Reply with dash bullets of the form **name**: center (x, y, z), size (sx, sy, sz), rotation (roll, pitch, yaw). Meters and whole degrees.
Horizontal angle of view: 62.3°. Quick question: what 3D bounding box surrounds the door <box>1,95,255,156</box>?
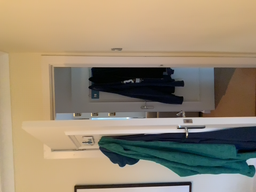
- **door**: center (0.330, 0.270, 1.650), size (0.920, 2.070, 0.180), rotation (102, 167, -65)

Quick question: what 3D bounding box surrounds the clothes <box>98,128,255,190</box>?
- **clothes**: center (0.450, 0.510, 1.640), size (0.680, 1.320, 0.290), rotation (100, 168, -61)
